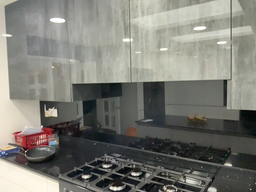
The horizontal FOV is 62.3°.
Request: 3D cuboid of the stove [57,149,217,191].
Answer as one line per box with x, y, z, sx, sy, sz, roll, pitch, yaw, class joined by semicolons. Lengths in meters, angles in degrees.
0.070;0.610;1.470;0.900;0.170;0.650;1;5;34;stove
